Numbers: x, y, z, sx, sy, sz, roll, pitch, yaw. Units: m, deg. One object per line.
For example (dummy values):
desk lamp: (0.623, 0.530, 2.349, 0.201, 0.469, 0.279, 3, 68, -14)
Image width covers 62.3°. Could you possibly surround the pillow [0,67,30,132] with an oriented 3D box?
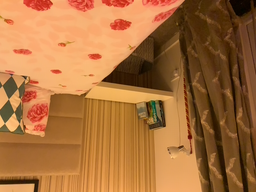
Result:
pillow: (-0.900, 0.020, 1.390, 0.410, 0.370, 0.260, 9, 161, -27)
